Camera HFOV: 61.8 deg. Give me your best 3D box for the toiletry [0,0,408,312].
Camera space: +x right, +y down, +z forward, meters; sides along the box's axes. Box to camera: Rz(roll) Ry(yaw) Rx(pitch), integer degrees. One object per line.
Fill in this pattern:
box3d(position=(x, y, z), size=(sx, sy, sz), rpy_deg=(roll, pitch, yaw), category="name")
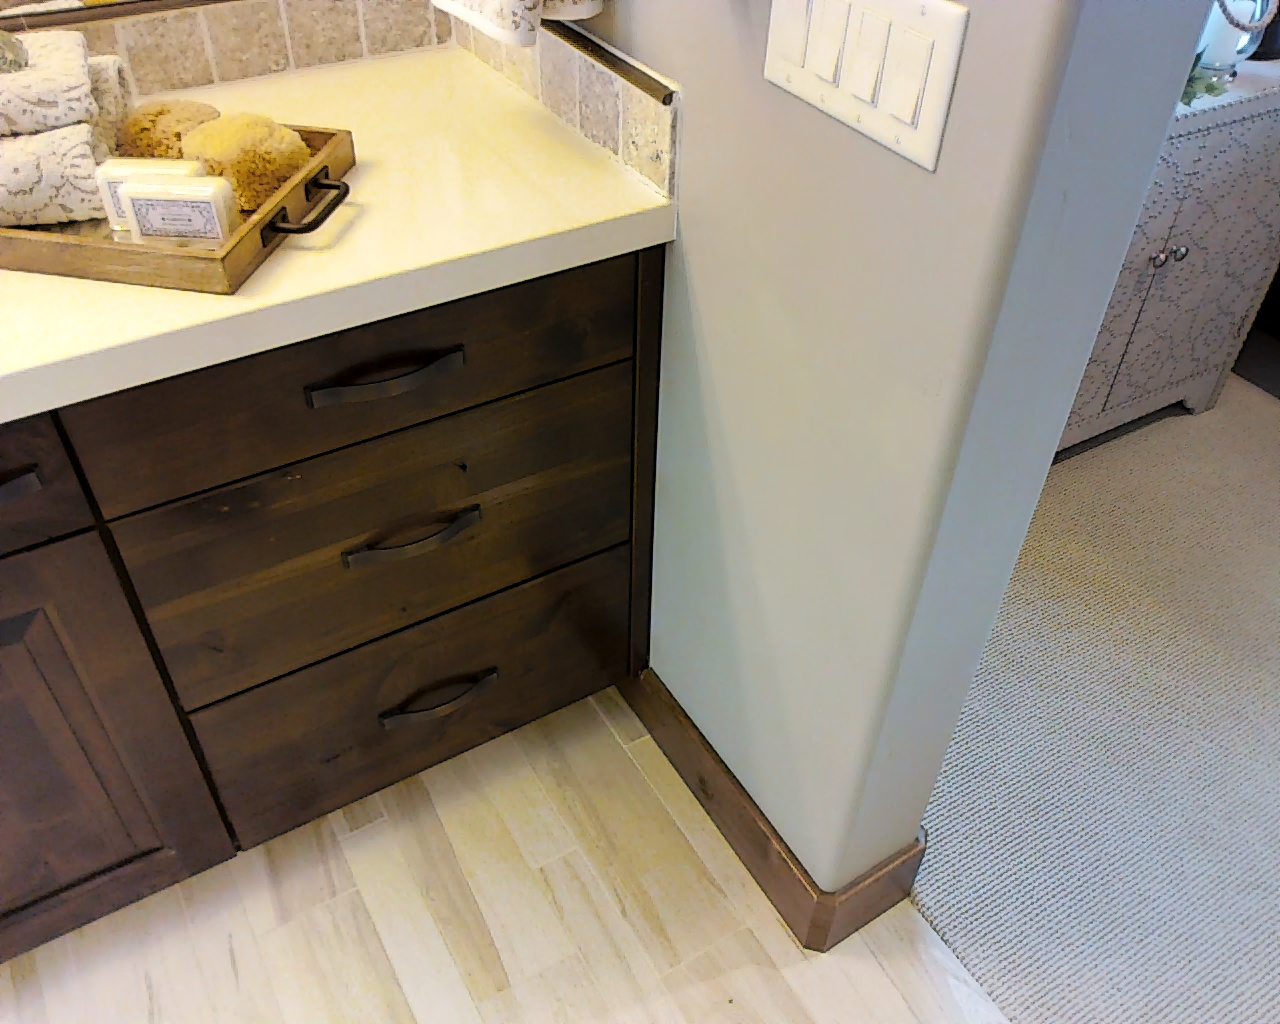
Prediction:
box3d(position=(-0.550, -0.410, 1.110), size=(0.470, 0.150, 0.410), rpy_deg=(10, 43, 9), category="toiletry")
